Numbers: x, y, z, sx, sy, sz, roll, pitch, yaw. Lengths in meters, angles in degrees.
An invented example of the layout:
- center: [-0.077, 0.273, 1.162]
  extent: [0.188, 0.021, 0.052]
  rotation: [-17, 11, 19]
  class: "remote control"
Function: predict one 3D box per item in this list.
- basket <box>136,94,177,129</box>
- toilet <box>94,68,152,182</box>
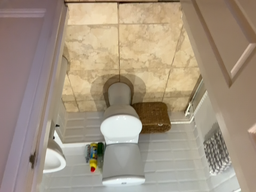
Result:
- center: [0.290, 0.170, 2.270]
  extent: [0.370, 0.280, 0.230]
  rotation: [-2, 146, -4]
  class: "basket"
- center: [-0.070, 0.280, 1.940]
  extent: [0.390, 0.800, 0.670]
  rotation: [-2, 146, -4]
  class: "toilet"
